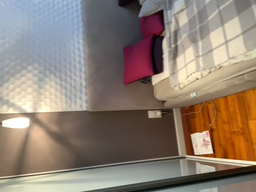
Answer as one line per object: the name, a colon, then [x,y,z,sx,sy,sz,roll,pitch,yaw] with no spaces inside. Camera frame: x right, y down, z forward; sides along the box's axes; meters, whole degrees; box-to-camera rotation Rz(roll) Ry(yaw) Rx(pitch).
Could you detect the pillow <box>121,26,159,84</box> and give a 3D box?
pillow: [0.100,-0.380,2.080,0.360,0.210,0.450,146,122,-67]
